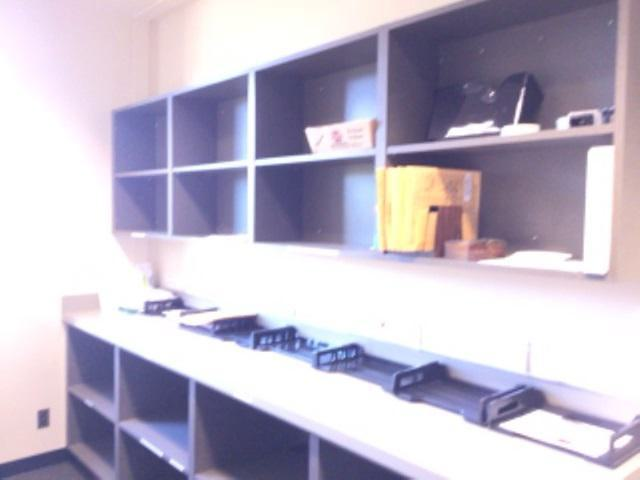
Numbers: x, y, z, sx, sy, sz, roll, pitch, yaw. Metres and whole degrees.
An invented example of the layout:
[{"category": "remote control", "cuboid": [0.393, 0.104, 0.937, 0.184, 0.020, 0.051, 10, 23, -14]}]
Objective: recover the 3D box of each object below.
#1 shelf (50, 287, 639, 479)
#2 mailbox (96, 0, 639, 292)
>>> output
[{"category": "shelf", "cuboid": [-0.330, 0.870, 2.420, 0.640, 1.040, 3.020, 0, 1, -41]}, {"category": "mailbox", "cuboid": [-0.200, -0.350, 2.450, 0.420, 0.830, 2.950, 0, 1, -41]}]
